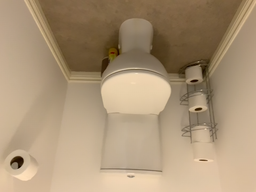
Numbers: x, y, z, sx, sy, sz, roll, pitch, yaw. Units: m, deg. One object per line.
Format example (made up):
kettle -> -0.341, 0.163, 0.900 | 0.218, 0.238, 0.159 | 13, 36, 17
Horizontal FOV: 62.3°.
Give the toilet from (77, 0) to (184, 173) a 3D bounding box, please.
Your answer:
toilet -> 0.020, 0.000, 1.220 | 0.380, 0.770, 0.670 | 0, 155, 1
